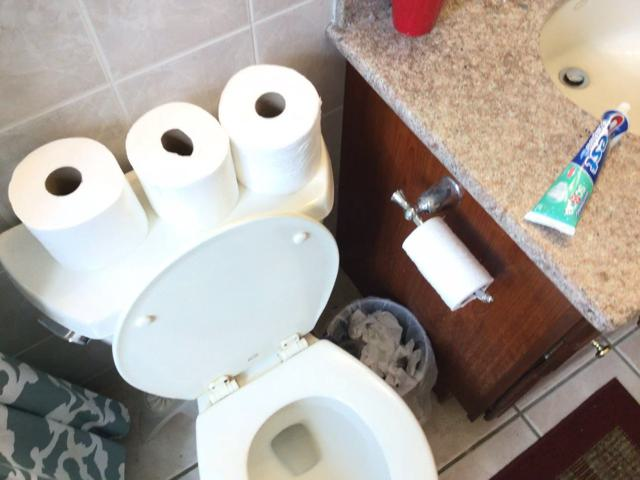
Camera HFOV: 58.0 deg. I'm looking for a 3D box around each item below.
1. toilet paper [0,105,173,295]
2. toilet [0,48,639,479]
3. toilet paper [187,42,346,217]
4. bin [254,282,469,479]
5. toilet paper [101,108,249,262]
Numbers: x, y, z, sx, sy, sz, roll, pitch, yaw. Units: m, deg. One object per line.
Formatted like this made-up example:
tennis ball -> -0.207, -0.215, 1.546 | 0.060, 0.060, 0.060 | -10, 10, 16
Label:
toilet paper -> -0.300, -0.050, 0.720 | 0.160, 0.120, 0.140 | -29, 64, -16
toilet -> -0.070, 0.280, 0.960 | 0.480, 0.780, 0.680 | -29, 64, -16
toilet paper -> -0.070, -0.150, 0.780 | 0.140, 0.110, 0.160 | -29, 64, -16
bin -> 0.080, 0.320, 1.240 | 0.340, 0.240, 0.250 | -29, 64, -16
toilet paper -> -0.180, -0.070, 0.740 | 0.130, 0.110, 0.110 | -29, 64, -16
